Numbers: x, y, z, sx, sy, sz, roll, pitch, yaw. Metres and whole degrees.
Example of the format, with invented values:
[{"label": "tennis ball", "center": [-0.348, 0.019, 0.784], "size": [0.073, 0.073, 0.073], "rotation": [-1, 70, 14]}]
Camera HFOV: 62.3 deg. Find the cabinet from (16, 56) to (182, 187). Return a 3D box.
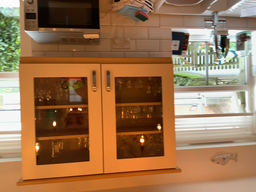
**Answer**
[{"label": "cabinet", "center": [-0.180, 0.140, 1.520], "size": [1.030, 0.790, 0.320], "rotation": [-2, 180, -9]}]
